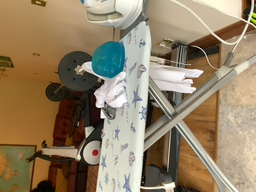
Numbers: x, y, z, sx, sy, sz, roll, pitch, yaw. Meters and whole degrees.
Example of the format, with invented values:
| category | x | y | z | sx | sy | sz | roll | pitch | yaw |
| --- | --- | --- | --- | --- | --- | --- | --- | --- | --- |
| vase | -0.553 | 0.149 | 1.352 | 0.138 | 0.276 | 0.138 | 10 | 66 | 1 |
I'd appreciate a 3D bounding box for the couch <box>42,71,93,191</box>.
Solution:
| category | x | y | z | sx | sy | sz | roll | pitch | yaw |
| --- | --- | --- | --- | --- | --- | --- | --- | --- | --- |
| couch | -1.500 | 0.920 | 5.180 | 1.070 | 0.740 | 2.830 | 173 | 103 | -65 |
